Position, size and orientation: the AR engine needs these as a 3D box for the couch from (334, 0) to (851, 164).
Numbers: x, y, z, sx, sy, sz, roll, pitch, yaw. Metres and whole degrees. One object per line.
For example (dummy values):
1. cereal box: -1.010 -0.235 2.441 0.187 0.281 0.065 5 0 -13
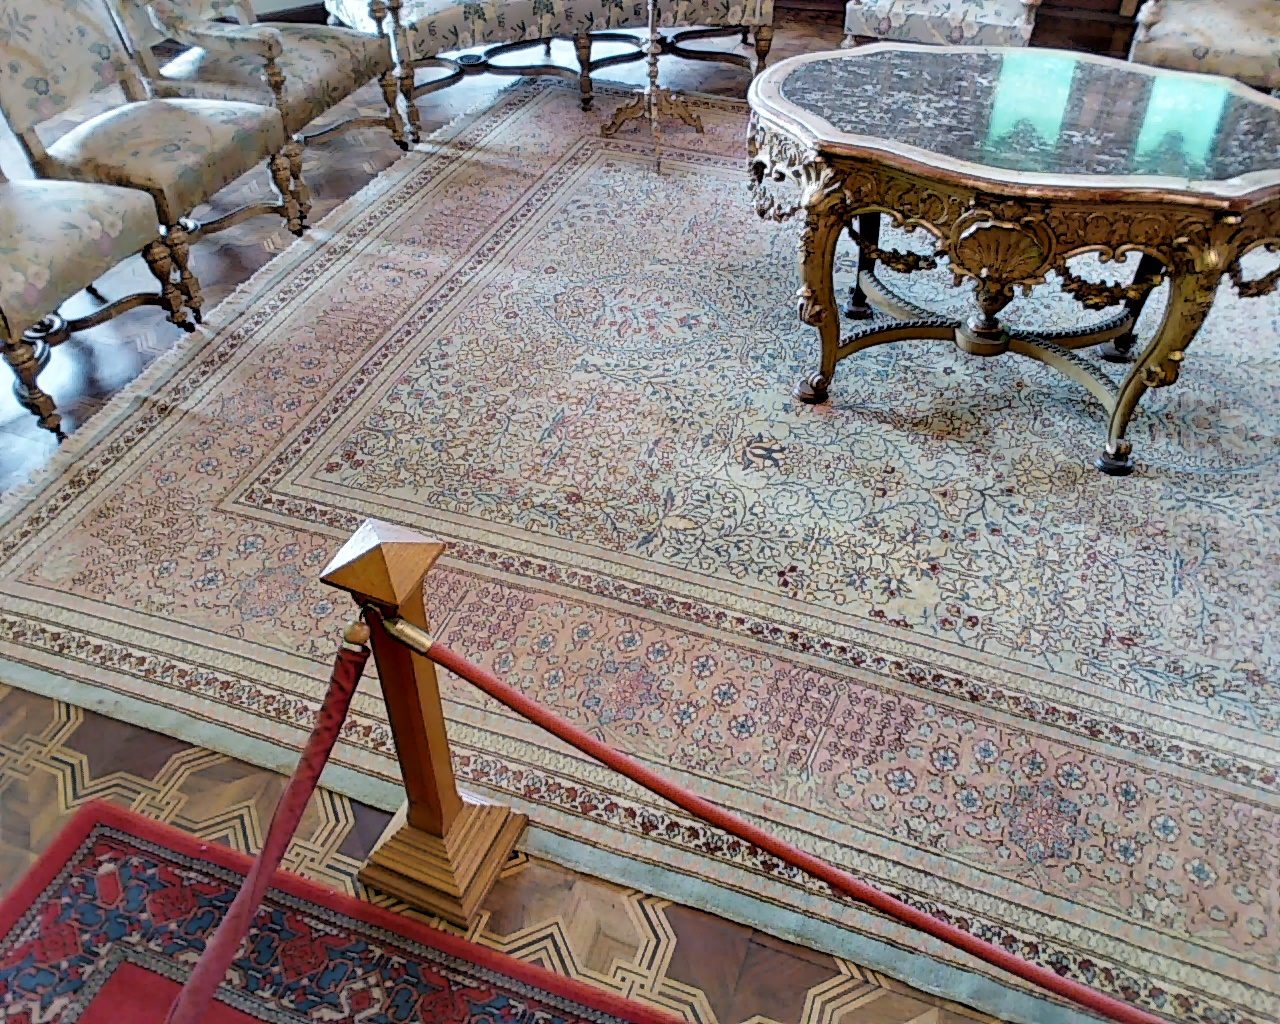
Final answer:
1. couch: -0.250 -2.221 4.300 1.940 1.030 1.030 -11 43 -11

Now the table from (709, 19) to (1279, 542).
1. table: 0.970 -0.650 2.740 1.350 0.760 0.900 14 44 16
